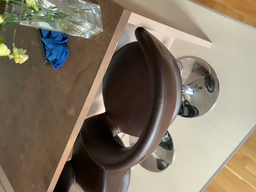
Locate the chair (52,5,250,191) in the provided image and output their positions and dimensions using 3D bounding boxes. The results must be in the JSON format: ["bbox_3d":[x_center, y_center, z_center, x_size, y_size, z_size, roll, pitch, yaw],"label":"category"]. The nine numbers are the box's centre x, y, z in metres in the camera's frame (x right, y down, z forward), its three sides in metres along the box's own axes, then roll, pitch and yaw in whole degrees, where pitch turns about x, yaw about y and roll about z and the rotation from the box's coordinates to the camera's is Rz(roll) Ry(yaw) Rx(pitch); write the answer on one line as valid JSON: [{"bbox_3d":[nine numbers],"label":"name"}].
[{"bbox_3d":[0.180,0.000,1.120,0.450,0.860,0.540,50,120,23],"label":"chair"}]
